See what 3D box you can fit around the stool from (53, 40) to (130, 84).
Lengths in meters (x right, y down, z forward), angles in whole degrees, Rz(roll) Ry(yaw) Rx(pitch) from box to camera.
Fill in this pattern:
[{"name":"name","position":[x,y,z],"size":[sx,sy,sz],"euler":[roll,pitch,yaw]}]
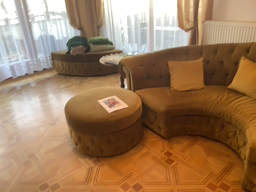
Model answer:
[{"name":"stool","position":[-0.780,-0.780,4.480],"size":[1.080,0.490,1.210],"euler":[-22,31,-35]}]

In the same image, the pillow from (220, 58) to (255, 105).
[{"name":"pillow","position":[1.210,-0.150,2.170],"size":[0.190,0.310,0.340],"euler":[-21,49,-36]}]

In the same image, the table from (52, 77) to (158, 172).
[{"name":"table","position":[-0.260,0.220,2.340],"size":[0.790,0.490,0.850],"euler":[-19,30,-31]}]

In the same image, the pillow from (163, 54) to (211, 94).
[{"name":"pillow","position":[0.670,-0.250,2.470],"size":[0.430,0.340,0.170],"euler":[12,37,1]}]
